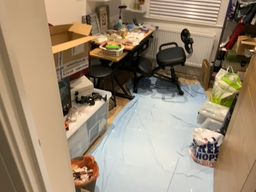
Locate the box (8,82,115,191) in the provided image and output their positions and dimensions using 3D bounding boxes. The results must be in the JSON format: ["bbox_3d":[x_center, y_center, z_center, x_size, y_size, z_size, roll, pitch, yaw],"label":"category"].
[{"bbox_3d":[-0.480,0.290,1.830,0.380,0.420,0.850,14,34,19],"label":"box"}]

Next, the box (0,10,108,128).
[{"bbox_3d":[-0.560,-0.290,1.490,0.400,0.400,1.020,14,34,18],"label":"box"}]
